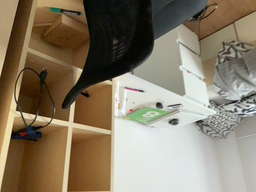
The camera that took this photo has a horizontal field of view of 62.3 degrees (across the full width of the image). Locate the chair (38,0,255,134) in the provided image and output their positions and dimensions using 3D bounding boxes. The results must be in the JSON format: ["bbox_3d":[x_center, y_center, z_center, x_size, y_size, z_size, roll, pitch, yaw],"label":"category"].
[{"bbox_3d":[0.090,-0.400,0.920,0.610,0.960,0.540,18,150,-38],"label":"chair"}]
